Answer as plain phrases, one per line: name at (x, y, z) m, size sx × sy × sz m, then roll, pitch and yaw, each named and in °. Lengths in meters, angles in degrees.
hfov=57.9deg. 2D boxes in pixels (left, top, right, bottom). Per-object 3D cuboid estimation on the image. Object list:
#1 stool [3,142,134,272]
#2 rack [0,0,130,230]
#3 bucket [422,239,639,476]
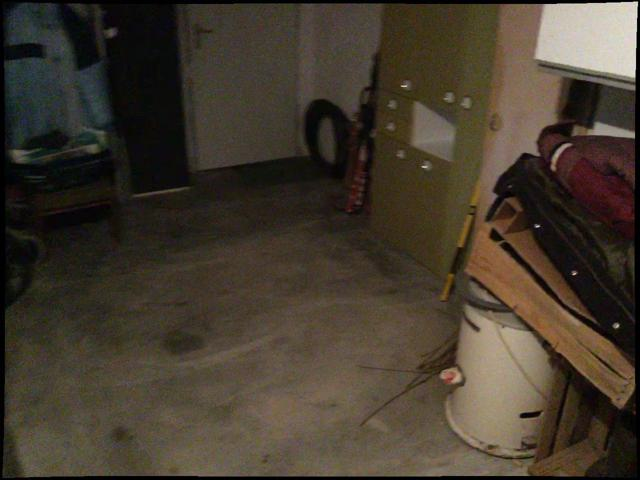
stool at (-1.409, -0.210, 3.240) m, size 0.530 × 0.470 × 0.560 m, roll -13°, pitch 30°, yaw -26°
rack at (-1.758, -0.811, 3.220) m, size 1.129 × 1.491 × 0.250 m, roll -13°, pitch 30°, yaw -26°
bucket at (0.689, 0.370, 1.960) m, size 0.490 × 0.550 × 0.390 m, roll -13°, pitch 30°, yaw -26°
